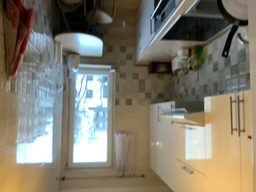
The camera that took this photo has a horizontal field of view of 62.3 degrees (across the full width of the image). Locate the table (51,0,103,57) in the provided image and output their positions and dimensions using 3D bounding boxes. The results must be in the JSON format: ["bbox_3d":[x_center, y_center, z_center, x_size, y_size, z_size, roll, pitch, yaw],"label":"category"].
[{"bbox_3d":[-0.600,-1.040,2.750,0.530,0.810,1.010,1,176,-8],"label":"table"}]

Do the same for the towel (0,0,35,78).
[{"bbox_3d":[-0.640,-0.360,1.210,0.130,0.480,0.210,1,176,-6],"label":"towel"}]
